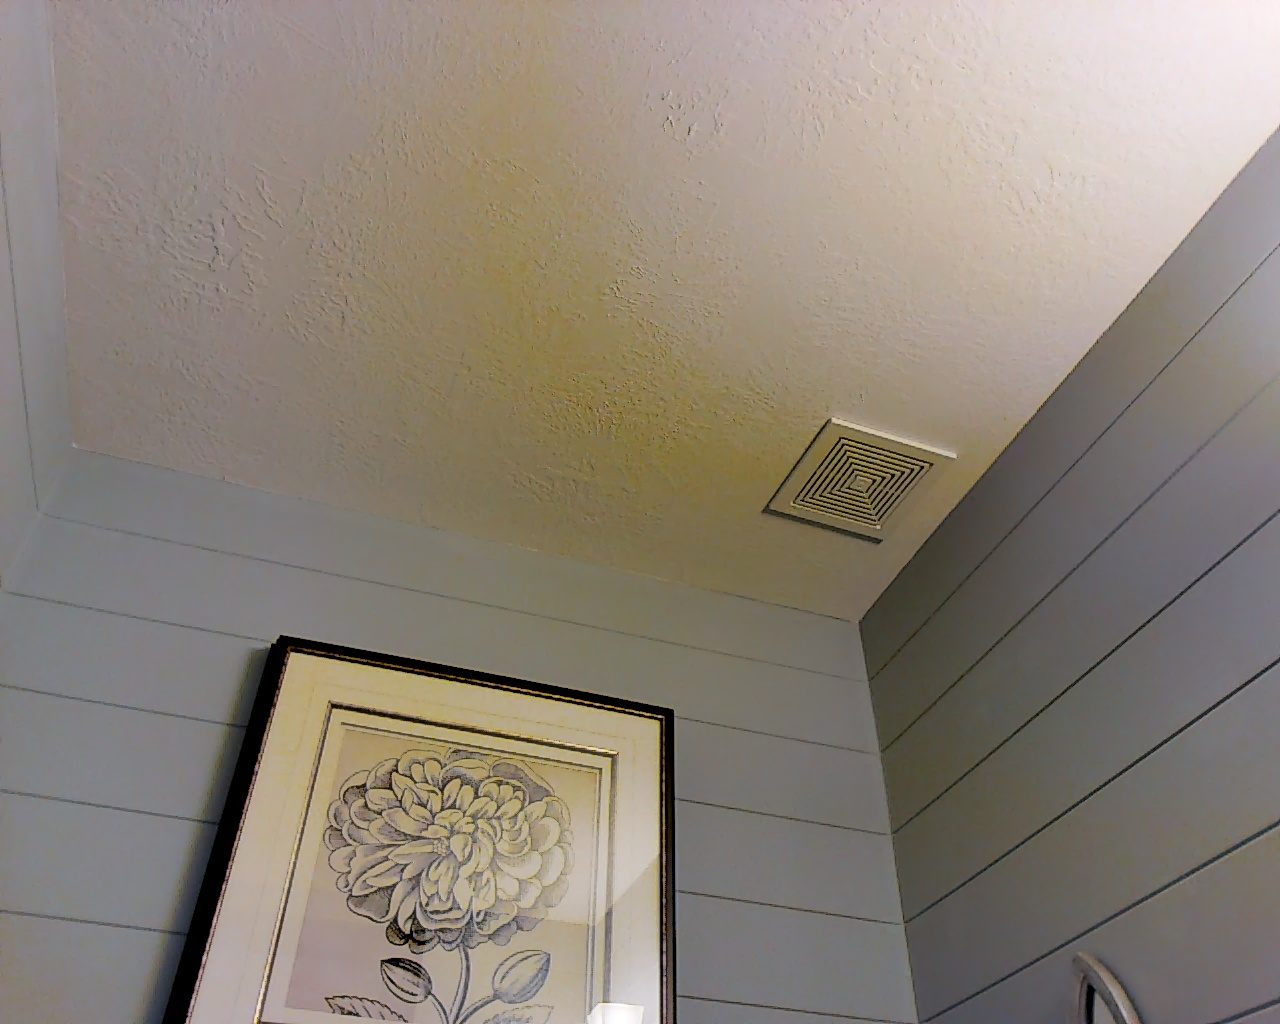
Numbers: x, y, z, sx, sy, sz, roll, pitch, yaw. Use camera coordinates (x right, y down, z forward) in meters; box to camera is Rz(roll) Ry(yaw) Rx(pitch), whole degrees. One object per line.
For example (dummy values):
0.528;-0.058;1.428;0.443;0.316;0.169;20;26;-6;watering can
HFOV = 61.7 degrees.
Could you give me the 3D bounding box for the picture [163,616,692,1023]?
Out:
-0.250;0.510;1.520;0.660;0.670;0.080;14;-44;-13;picture
